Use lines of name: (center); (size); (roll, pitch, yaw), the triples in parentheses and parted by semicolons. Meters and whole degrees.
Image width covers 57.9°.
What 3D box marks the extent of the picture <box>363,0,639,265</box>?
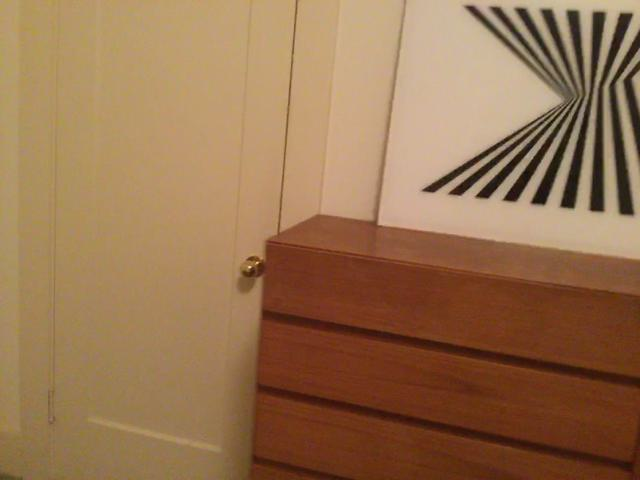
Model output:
picture: (0.560, -0.320, 1.360); (0.850, 0.700, 0.120); (7, 8, 14)
